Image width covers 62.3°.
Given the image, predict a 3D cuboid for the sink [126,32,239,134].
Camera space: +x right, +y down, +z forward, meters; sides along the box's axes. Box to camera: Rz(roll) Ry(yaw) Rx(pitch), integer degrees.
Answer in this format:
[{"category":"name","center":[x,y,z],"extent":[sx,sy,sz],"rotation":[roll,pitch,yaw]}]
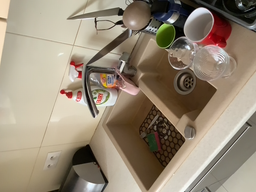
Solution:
[{"category":"sink","center":[0.200,-0.070,0.910],"extent":[0.420,0.150,0.220],"rotation":[50,124,38]}]

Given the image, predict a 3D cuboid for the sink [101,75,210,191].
[{"category":"sink","center":[0.100,0.160,1.040],"extent":[0.420,0.190,0.340],"rotation":[50,124,38]}]
